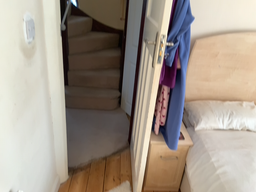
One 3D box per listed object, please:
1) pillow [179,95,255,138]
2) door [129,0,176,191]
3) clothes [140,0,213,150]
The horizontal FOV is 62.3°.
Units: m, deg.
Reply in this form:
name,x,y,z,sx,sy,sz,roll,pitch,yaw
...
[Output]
name,x,y,z,sx,sy,sz,roll,pitch,yaw
pillow,0.840,0.170,1.890,0.670,0.140,0.420,5,26,-2
door,0.140,-0.170,1.640,0.060,1.990,0.840,4,26,-4
clothes,0.300,-0.340,1.550,0.220,1.330,0.630,4,26,-3
